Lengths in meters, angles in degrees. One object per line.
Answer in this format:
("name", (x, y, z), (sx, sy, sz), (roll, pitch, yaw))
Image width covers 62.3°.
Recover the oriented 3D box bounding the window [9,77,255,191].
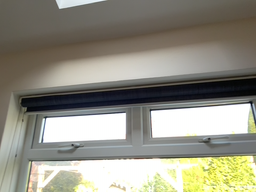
("window", (0.100, 0.620, 1.130), (1.600, 1.370, 0.180), (-5, -22, 12))
